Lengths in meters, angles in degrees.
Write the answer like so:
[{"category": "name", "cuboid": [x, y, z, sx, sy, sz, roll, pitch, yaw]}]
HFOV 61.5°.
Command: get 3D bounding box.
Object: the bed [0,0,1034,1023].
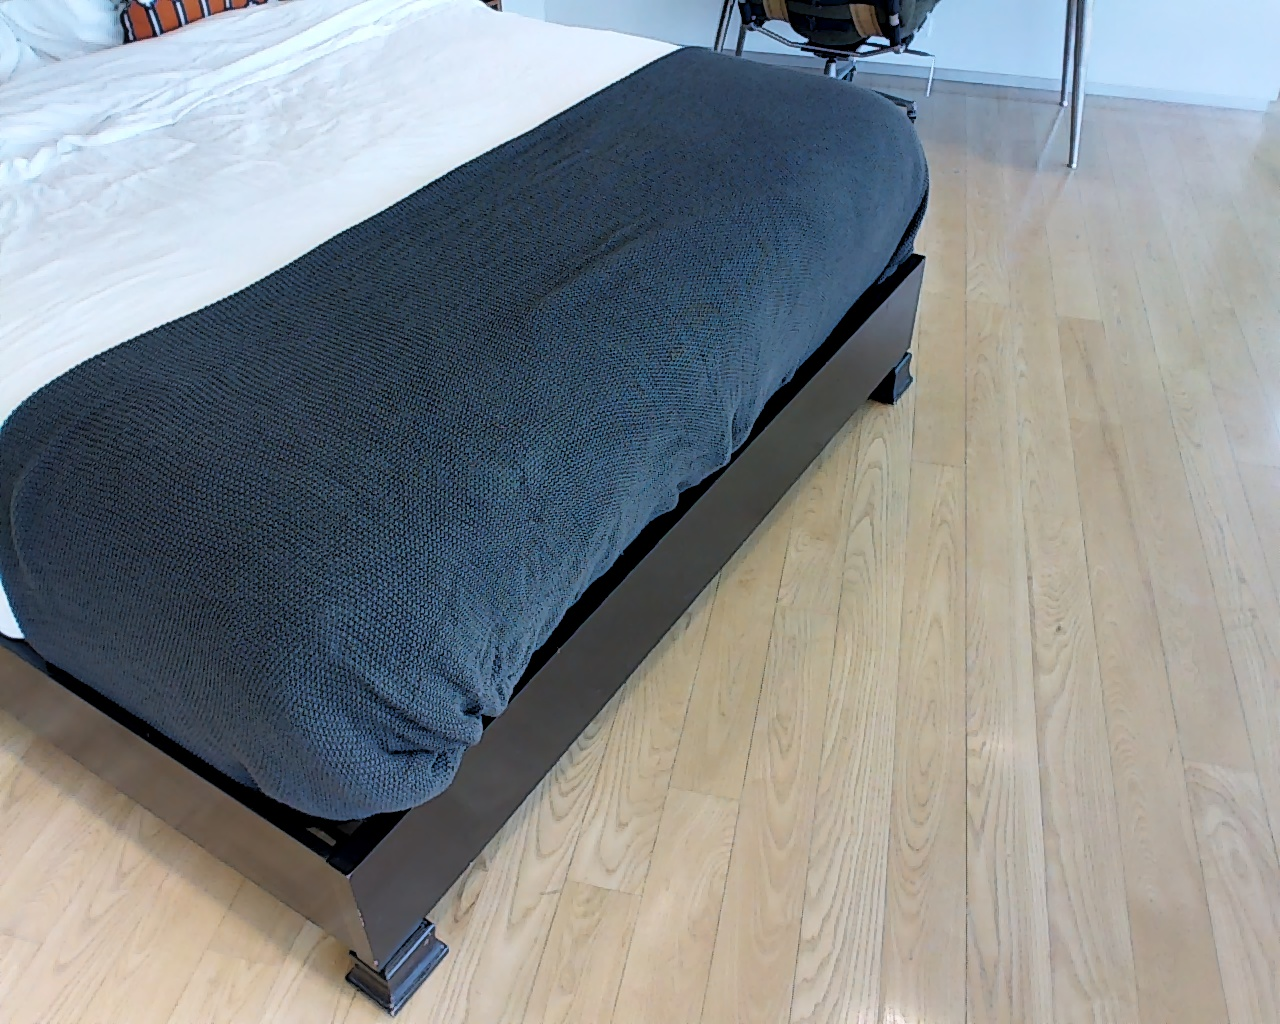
[{"category": "bed", "cuboid": [-0.760, -0.790, 2.170, 2.420, 1.470, 2.080, 23, 47, 23]}]
